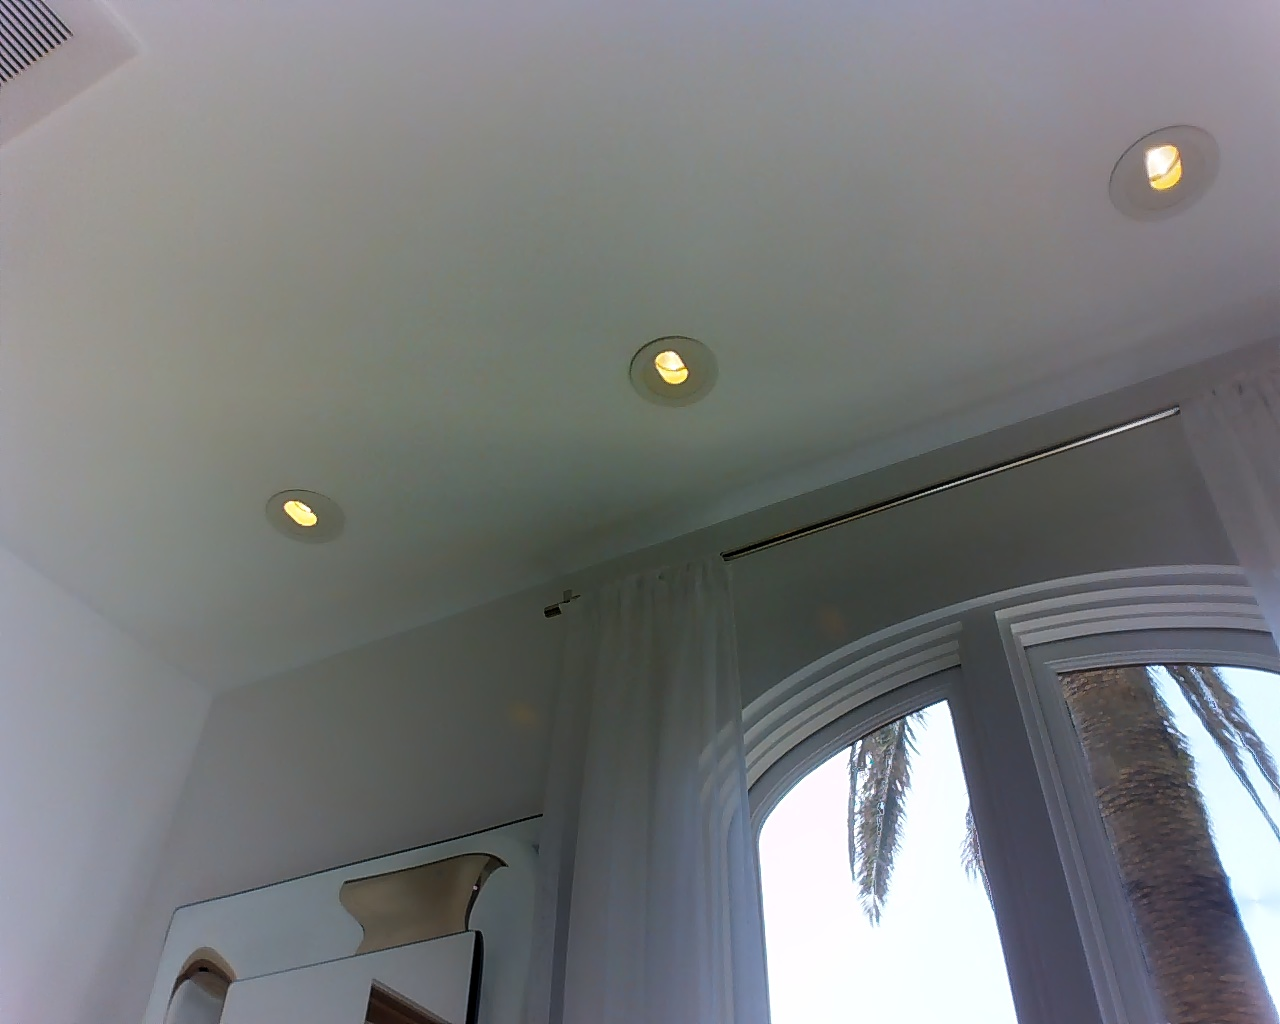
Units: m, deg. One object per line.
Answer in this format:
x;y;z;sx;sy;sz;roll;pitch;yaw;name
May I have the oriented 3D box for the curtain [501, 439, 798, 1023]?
0.010;0.570;1.200;0.300;1.630;0.140;-18;-47;20;curtain
